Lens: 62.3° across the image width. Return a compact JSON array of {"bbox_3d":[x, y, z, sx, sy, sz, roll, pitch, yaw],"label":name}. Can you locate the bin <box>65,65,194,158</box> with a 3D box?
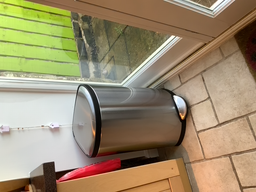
[{"bbox_3d":[0.010,0.100,1.350,0.330,0.680,0.430,-34,62,51],"label":"bin"}]
